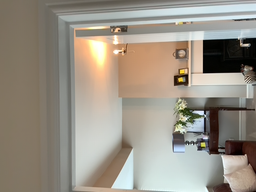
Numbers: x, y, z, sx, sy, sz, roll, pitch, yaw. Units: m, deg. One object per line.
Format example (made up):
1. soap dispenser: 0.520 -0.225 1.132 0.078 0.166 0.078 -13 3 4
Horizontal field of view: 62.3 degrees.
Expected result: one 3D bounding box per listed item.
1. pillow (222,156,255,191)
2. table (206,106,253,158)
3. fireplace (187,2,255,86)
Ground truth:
1. pillow: 1.530 1.040 2.760 0.150 0.420 0.350 61 -172 -27
2. table: 1.850 0.630 3.910 0.430 0.680 0.870 -8 -82 -81
3. fireplace: 1.580 -0.820 3.570 0.460 1.090 1.260 -8 -82 -81
